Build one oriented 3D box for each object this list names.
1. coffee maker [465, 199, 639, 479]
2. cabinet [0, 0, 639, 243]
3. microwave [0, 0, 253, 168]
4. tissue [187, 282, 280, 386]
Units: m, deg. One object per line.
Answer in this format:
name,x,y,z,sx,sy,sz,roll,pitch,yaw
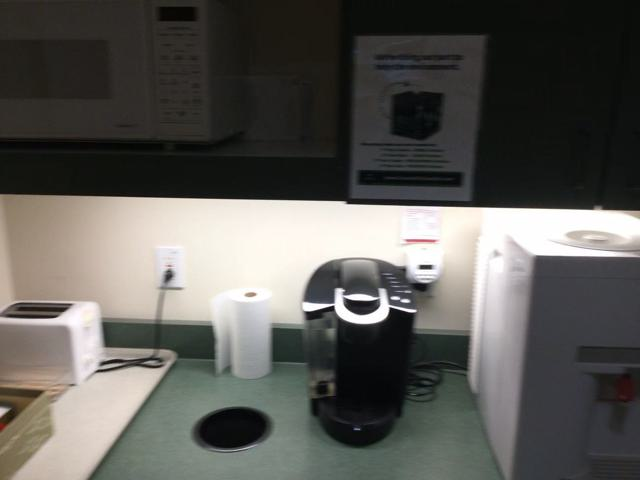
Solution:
coffee maker,0.500,0.190,1.150,0.320,0.450,0.430,3,16,6
cabinet,0.490,-0.380,1.070,2.640,0.680,0.400,3,16,6
microwave,-0.480,-0.340,1.200,0.610,0.300,0.360,3,16,6
tissue,-0.210,0.230,1.440,0.200,0.210,0.120,3,16,6
